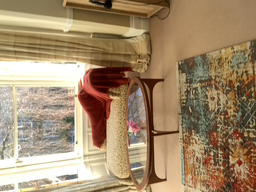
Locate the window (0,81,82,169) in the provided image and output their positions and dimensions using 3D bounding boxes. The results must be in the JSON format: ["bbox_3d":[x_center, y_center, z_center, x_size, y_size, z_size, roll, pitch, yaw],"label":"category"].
[{"bbox_3d":[-1.790,0.430,3.290,0.260,2.100,1.290,1,92,64],"label":"window"}]

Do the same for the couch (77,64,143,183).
[{"bbox_3d":[-0.300,0.340,3.220,0.710,0.790,1.540,5,95,64],"label":"couch"}]
